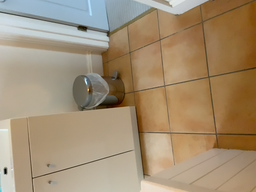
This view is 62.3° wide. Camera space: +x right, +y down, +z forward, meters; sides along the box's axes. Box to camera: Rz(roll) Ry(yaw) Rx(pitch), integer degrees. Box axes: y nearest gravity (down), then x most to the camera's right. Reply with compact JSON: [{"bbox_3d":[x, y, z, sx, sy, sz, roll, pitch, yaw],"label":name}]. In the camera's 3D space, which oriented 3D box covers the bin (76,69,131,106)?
[{"bbox_3d":[-0.180,-0.060,1.600,0.200,0.340,0.230,-12,83,48],"label":"bin"}]
